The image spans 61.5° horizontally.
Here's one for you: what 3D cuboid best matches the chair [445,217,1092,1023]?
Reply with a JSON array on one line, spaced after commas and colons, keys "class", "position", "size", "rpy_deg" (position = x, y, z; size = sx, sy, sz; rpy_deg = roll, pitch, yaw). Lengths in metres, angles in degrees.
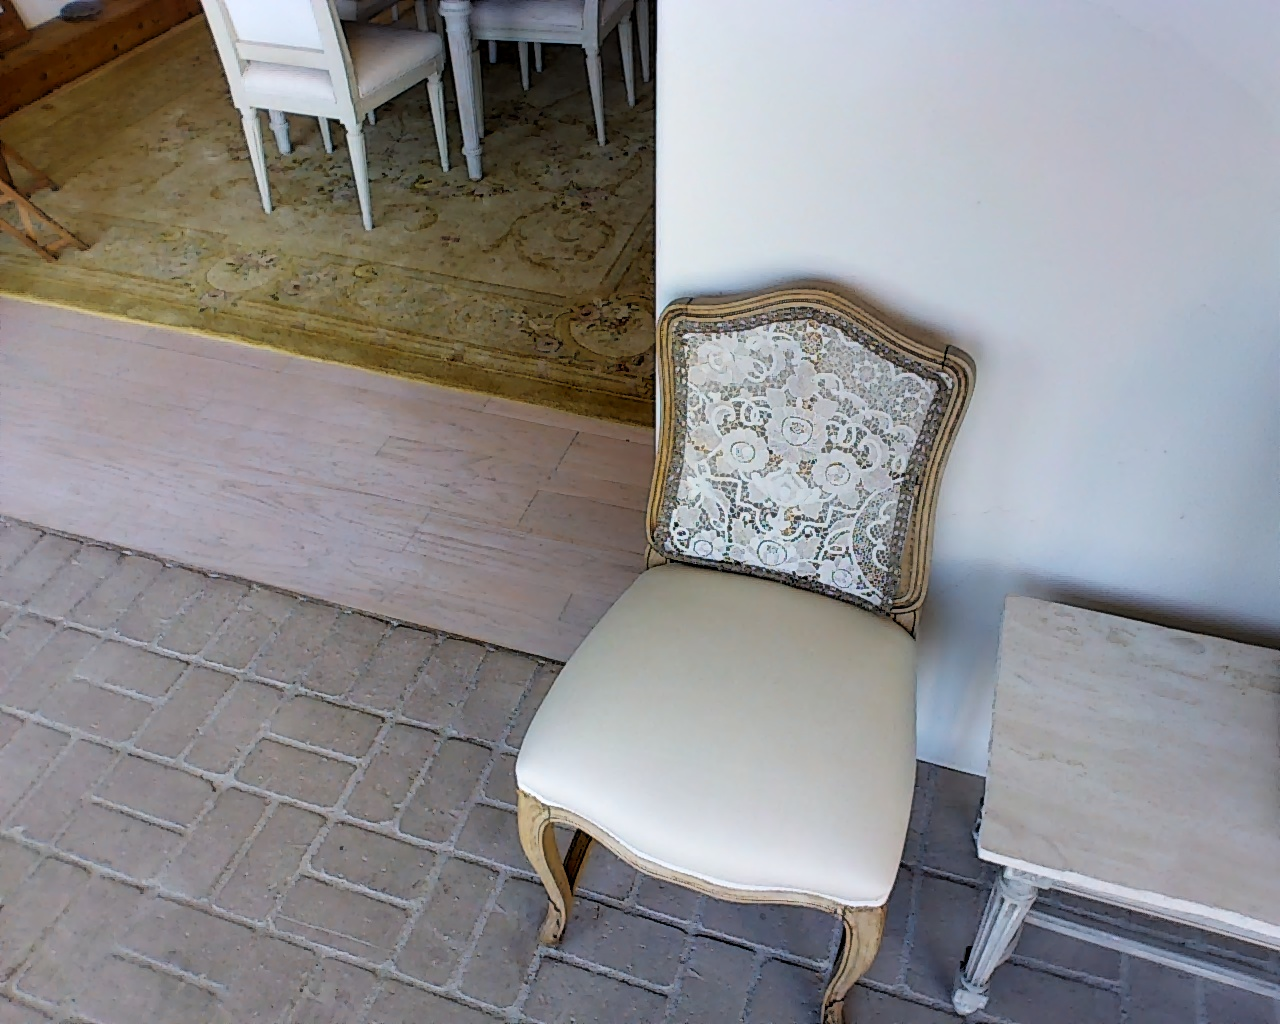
[{"class": "chair", "position": [0.180, 0.200, 1.470], "size": [0.570, 0.950, 0.550], "rpy_deg": [13, 44, 15]}]
